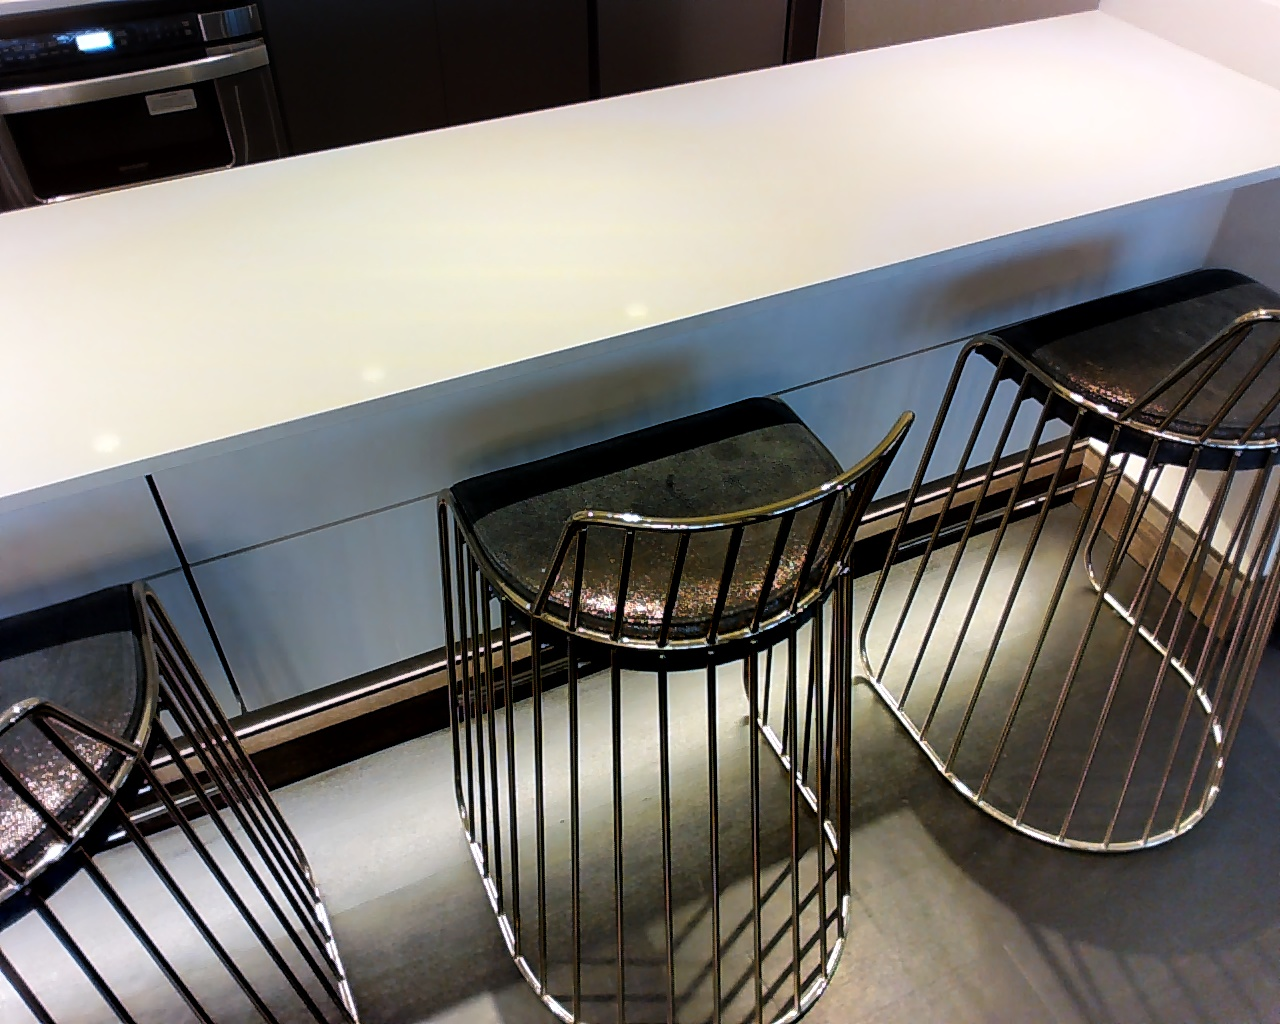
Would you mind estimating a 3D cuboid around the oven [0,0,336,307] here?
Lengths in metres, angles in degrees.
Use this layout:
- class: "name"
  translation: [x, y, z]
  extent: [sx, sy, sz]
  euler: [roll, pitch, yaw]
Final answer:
- class: "oven"
  translation: [-0.990, -0.700, 2.110]
  extent: [0.680, 0.470, 0.090]
  euler: [-17, 46, -17]

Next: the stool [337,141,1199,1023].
- class: "stool"
  translation: [0.060, 0.210, 1.330]
  extent: [0.530, 1.020, 0.660]
  euler: [-17, 46, -17]

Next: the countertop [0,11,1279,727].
- class: "countertop"
  translation: [-0.090, -0.270, 1.360]
  extent: [2.280, 0.200, 0.650]
  euler: [-17, 46, -17]
